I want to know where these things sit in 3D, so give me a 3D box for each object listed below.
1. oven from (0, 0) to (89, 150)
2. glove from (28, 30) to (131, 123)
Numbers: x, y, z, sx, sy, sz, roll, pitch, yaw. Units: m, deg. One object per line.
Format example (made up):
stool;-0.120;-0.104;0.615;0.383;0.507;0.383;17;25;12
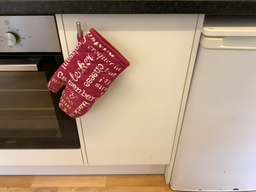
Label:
oven;-0.540;-0.190;0.980;0.580;0.630;0.590;0;37;-2
glove;-0.140;-0.050;0.730;0.290;0.330;0.070;0;37;-2
